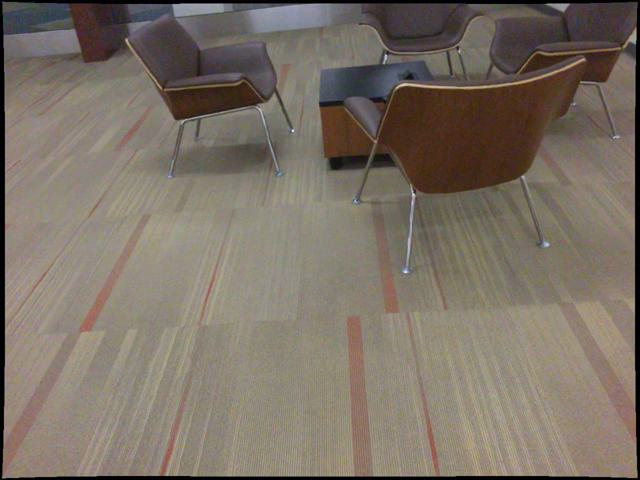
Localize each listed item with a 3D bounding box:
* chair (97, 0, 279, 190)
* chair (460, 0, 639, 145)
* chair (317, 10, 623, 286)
[{"bbox_3d":[-0.688,-0.872,3.380,0.738,0.771,0.851,-5,33,3],"label":"chair"},{"bbox_3d":[1.347,-1.123,3.390,0.808,0.731,0.881,-7,33,1],"label":"chair"},{"bbox_3d":[0.549,-0.431,2.420,0.888,0.751,0.780,-13,33,-8],"label":"chair"}]
